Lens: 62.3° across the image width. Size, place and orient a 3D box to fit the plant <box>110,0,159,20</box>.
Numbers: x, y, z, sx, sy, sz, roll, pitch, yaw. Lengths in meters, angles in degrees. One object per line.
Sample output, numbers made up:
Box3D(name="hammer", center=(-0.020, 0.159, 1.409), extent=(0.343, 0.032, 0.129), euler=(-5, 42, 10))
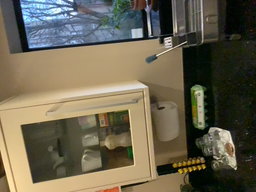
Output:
Box3D(name="plant", center=(0.030, -0.640, 1.420), extent=(0.250, 0.270, 0.190), euler=(-130, 32, -75))
